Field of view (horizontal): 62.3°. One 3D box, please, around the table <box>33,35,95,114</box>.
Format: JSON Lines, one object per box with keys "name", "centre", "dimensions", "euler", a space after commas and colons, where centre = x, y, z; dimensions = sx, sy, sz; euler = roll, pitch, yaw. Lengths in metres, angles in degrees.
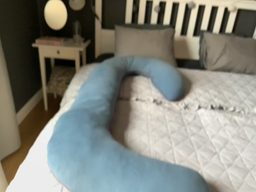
{"name": "table", "centre": [-0.640, -0.240, 2.270], "dimensions": [0.480, 0.690, 0.430], "euler": [5, 27, 0]}
